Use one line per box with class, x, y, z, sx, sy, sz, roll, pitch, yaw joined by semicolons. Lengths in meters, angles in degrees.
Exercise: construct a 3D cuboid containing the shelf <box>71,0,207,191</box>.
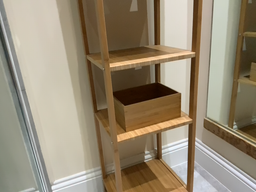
shelf;0.040;0.030;0.850;0.360;0.990;0.300;-12;23;-19
